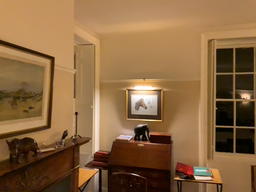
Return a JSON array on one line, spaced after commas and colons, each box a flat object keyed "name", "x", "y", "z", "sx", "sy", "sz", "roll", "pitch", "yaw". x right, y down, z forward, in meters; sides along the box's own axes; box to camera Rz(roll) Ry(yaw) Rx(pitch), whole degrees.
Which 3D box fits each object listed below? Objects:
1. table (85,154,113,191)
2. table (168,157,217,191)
[{"name": "table", "x": -0.460, "y": 1.380, "z": 3.440, "sx": 0.320, "sy": 0.750, "sz": 0.380, "roll": 0, "pitch": 0, "yaw": 17}, {"name": "table", "x": 0.920, "y": 1.370, "z": 3.040, "sx": 0.610, "sy": 0.770, "sz": 0.560, "roll": 0, "pitch": 0, "yaw": 17}]
